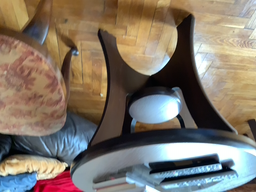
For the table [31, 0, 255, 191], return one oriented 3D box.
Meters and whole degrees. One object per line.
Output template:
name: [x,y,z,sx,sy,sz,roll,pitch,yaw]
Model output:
table: [0.120,0.040,0.860,0.570,0.600,0.610,-26,137,29]
